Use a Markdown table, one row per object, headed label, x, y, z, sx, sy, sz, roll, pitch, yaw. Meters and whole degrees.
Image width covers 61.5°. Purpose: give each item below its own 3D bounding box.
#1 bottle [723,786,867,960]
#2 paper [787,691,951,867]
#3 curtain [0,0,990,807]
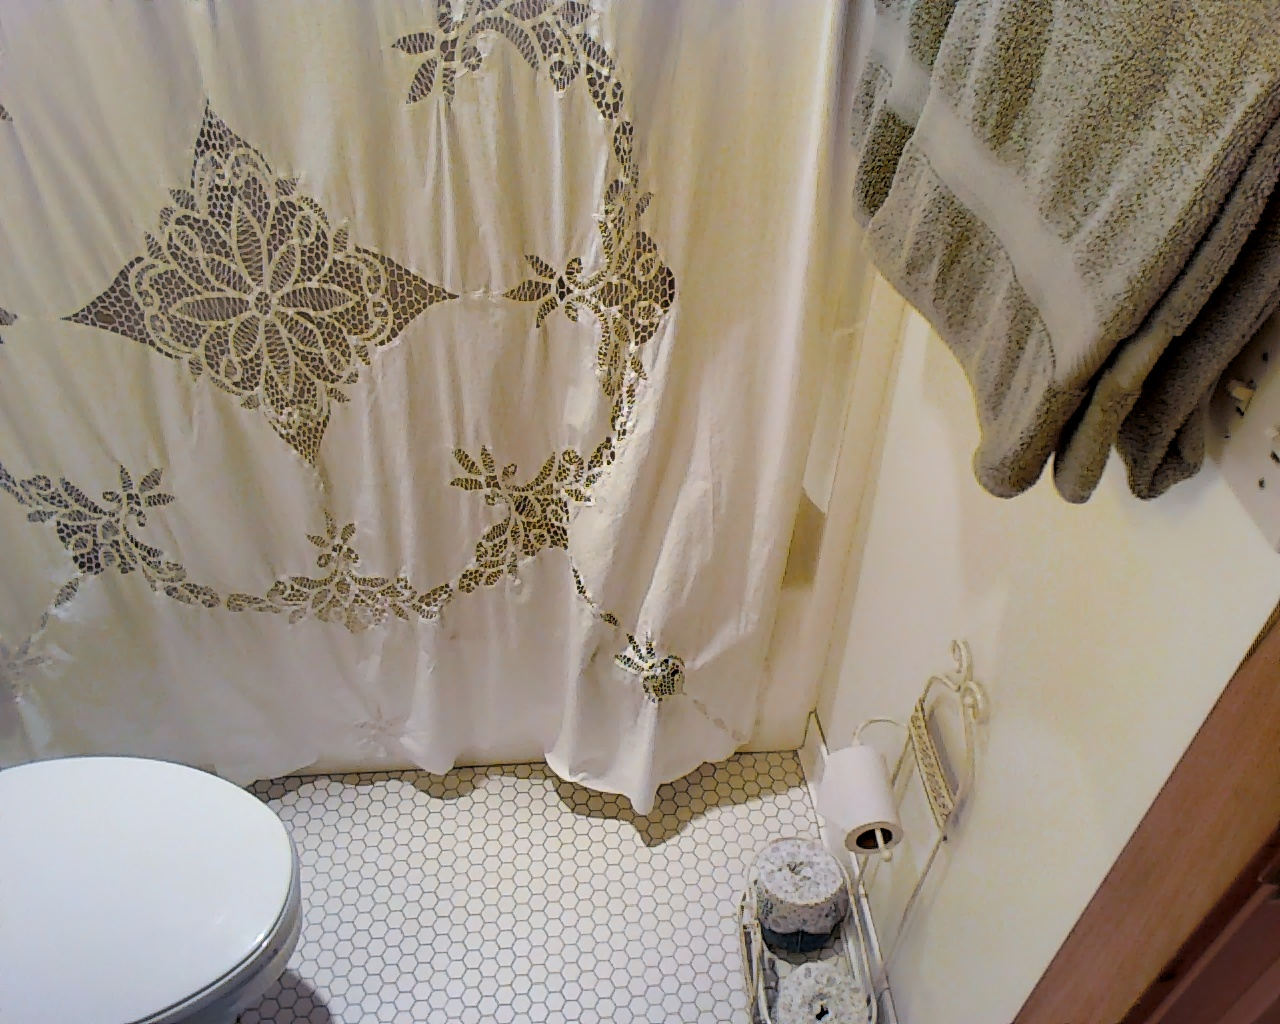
| label | x | y | z | sx | sy | sz | roll | pitch | yaw |
| --- | --- | --- | --- | --- | --- | --- | --- | --- | --- |
| bottle | 0.230 | 0.550 | 1.650 | 0.170 | 0.130 | 0.210 | -1 | 43 | -4 |
| paper | 0.270 | 0.320 | 1.300 | 0.140 | 0.100 | 0.170 | -3 | 43 | -6 |
| curtain | -0.430 | -0.310 | 1.220 | 1.500 | 1.930 | 0.180 | -2 | 43 | -5 |
